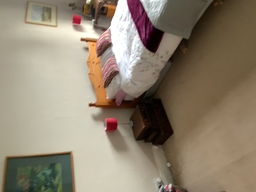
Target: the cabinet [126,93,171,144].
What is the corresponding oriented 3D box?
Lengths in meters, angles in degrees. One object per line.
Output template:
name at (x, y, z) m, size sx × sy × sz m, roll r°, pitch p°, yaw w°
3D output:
cabinet at (0.270, 0.320, 3.040) m, size 0.390 × 0.390 × 0.590 m, roll 119°, pitch 145°, yaw -48°
